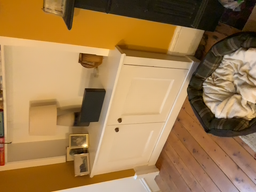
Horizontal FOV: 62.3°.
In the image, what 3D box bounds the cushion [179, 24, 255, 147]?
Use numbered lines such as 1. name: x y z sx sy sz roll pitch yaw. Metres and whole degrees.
1. cushion: 0.720 -0.080 1.430 0.740 0.250 0.680 13 102 61
